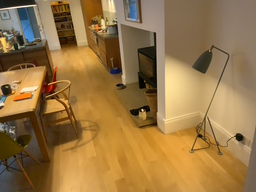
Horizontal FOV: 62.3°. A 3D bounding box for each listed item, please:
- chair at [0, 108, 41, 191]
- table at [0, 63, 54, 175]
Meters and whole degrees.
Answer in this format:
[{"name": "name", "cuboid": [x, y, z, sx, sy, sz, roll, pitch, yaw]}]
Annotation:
[{"name": "chair", "cuboid": [-1.270, 0.600, 2.260, 0.410, 0.740, 0.470, -11, 26, -11]}, {"name": "table", "cuboid": [-1.730, 0.170, 3.270, 0.910, 0.730, 2.080, -12, 26, -13]}]
